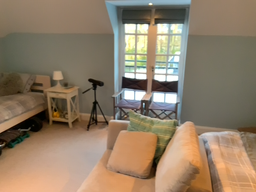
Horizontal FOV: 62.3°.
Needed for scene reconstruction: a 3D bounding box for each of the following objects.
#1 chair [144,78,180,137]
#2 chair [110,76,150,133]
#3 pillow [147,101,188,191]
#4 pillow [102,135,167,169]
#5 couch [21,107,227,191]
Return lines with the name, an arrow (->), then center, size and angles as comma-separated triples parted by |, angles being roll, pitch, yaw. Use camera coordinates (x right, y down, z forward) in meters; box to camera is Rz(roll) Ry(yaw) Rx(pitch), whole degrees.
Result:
chair -> 0.610, 0.180, 3.790 | 0.550, 0.890, 0.560 | 5, 16, 12
chair -> 0.050, 0.130, 3.910 | 0.600, 0.890, 0.560 | 5, 16, 12
pillow -> 0.400, 0.520, 1.940 | 0.240, 0.490, 0.820 | -1, 49, 20
pillow -> 0.080, 0.560, 2.100 | 0.490, 0.130, 0.480 | 6, -22, 28
couch -> 0.100, 0.790, 1.820 | 1.130, 0.810, 1.660 | 5, 16, 12
